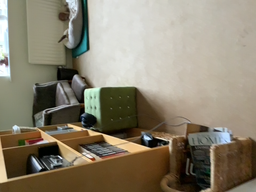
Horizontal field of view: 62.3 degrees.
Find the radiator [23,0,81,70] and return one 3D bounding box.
[{"bbox_3d":[-1.110,-1.020,3.130,0.190,0.740,1.230,-1,91,57],"label":"radiator"}]
